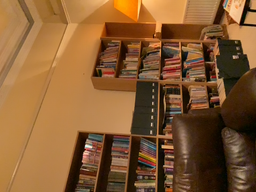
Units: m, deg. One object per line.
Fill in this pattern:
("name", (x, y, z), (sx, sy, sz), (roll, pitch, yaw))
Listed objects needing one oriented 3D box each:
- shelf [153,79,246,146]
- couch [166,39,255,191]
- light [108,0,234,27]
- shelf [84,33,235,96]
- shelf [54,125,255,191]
("shelf", (0.870, 0.200, 2.790), (0.310, 1.040, 0.750), (85, -170, -58))
("couch", (0.790, 0.450, 1.400), (1.080, 0.940, 1.140), (81, -167, -67))
("light", (0.610, -1.490, 3.250), (0.590, 1.750, 0.520), (87, -172, -52))
("shelf", (0.450, -0.510, 3.260), (0.310, 2.060, 0.860), (85, -170, -58))
("shelf", (0.290, 0.850, 2.420), (0.280, 2.060, 0.850), (85, -170, -58))
